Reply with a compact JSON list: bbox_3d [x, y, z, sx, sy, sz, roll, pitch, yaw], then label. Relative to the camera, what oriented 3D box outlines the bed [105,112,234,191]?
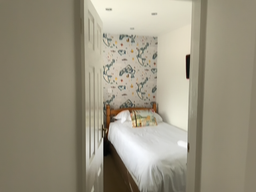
[{"bbox_3d":[0.380,0.750,3.280,1.050,0.600,2.100,-1,6,-18],"label":"bed"}]
